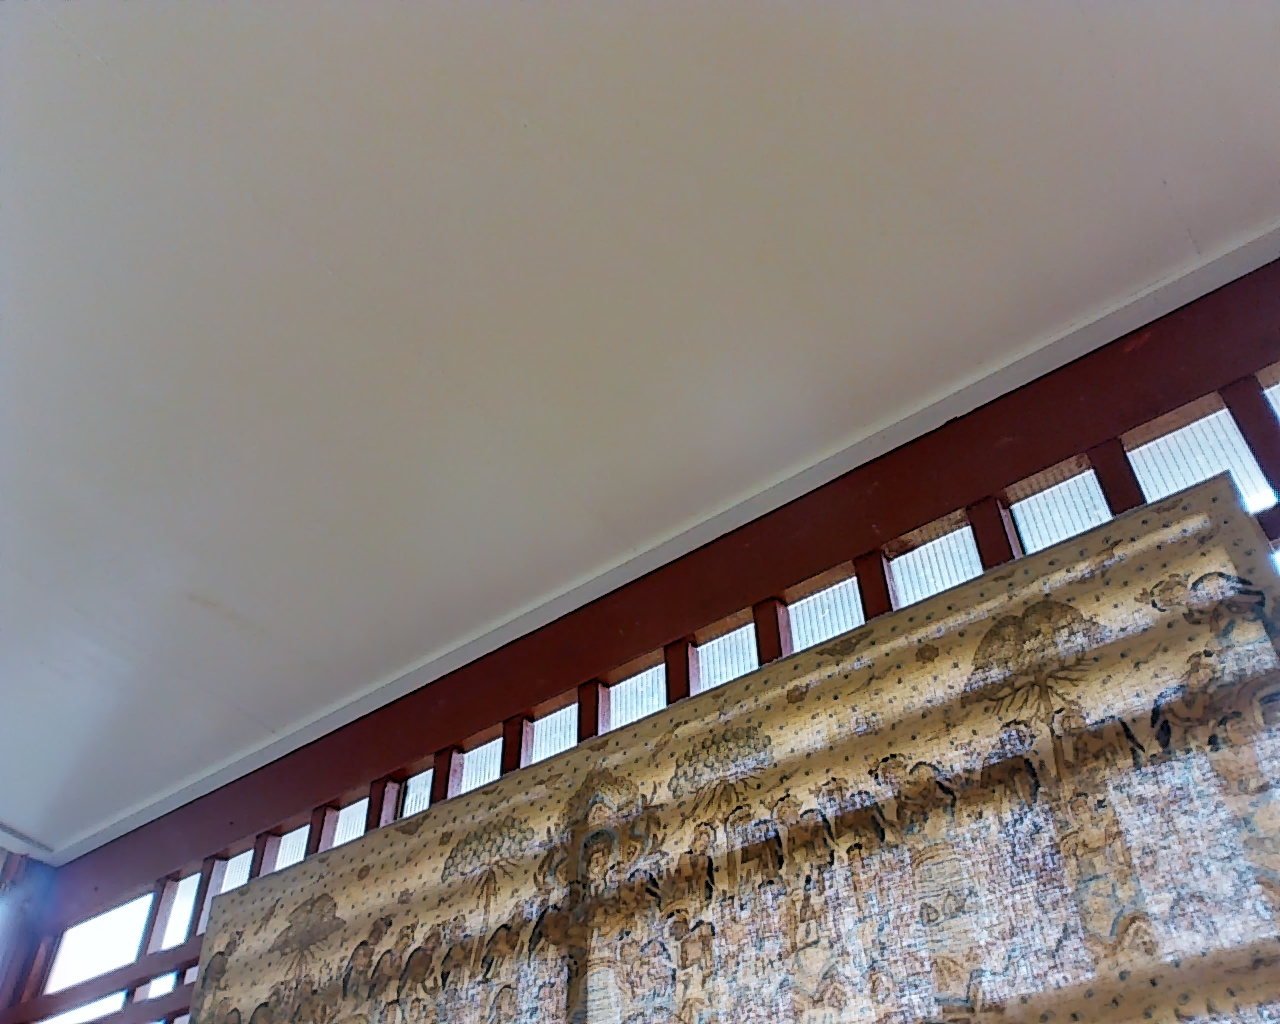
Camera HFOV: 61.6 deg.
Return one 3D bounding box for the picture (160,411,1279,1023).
[{"bbox_3d":[-0.040,0.640,1.280,1.880,0.860,0.110,-28,-49,27],"label":"picture"}]
